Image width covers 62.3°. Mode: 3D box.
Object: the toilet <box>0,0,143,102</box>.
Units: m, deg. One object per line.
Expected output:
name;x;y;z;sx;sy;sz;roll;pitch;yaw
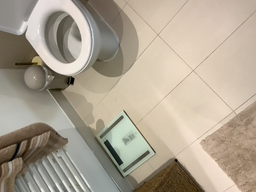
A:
toilet;-0.390;-0.330;1.080;0.520;0.830;0.390;49;115;15
